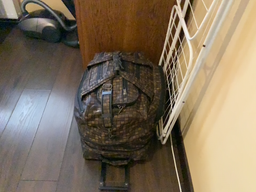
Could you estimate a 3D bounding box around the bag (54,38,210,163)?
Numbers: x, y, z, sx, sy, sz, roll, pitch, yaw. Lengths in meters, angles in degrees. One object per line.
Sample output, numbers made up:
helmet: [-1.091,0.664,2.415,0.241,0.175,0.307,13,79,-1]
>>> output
bag: [0.000,0.030,1.140,0.600,0.460,0.470,1,46,-4]
